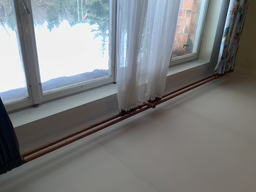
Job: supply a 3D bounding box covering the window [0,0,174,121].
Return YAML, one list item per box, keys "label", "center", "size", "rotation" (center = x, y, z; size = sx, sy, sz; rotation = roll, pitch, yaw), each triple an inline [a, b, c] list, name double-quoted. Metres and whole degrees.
- label: "window"
  center: [-0.230, -0.780, 1.780]
  size: [1.900, 1.530, 0.150]
  rotation: [-20, -145, -41]
